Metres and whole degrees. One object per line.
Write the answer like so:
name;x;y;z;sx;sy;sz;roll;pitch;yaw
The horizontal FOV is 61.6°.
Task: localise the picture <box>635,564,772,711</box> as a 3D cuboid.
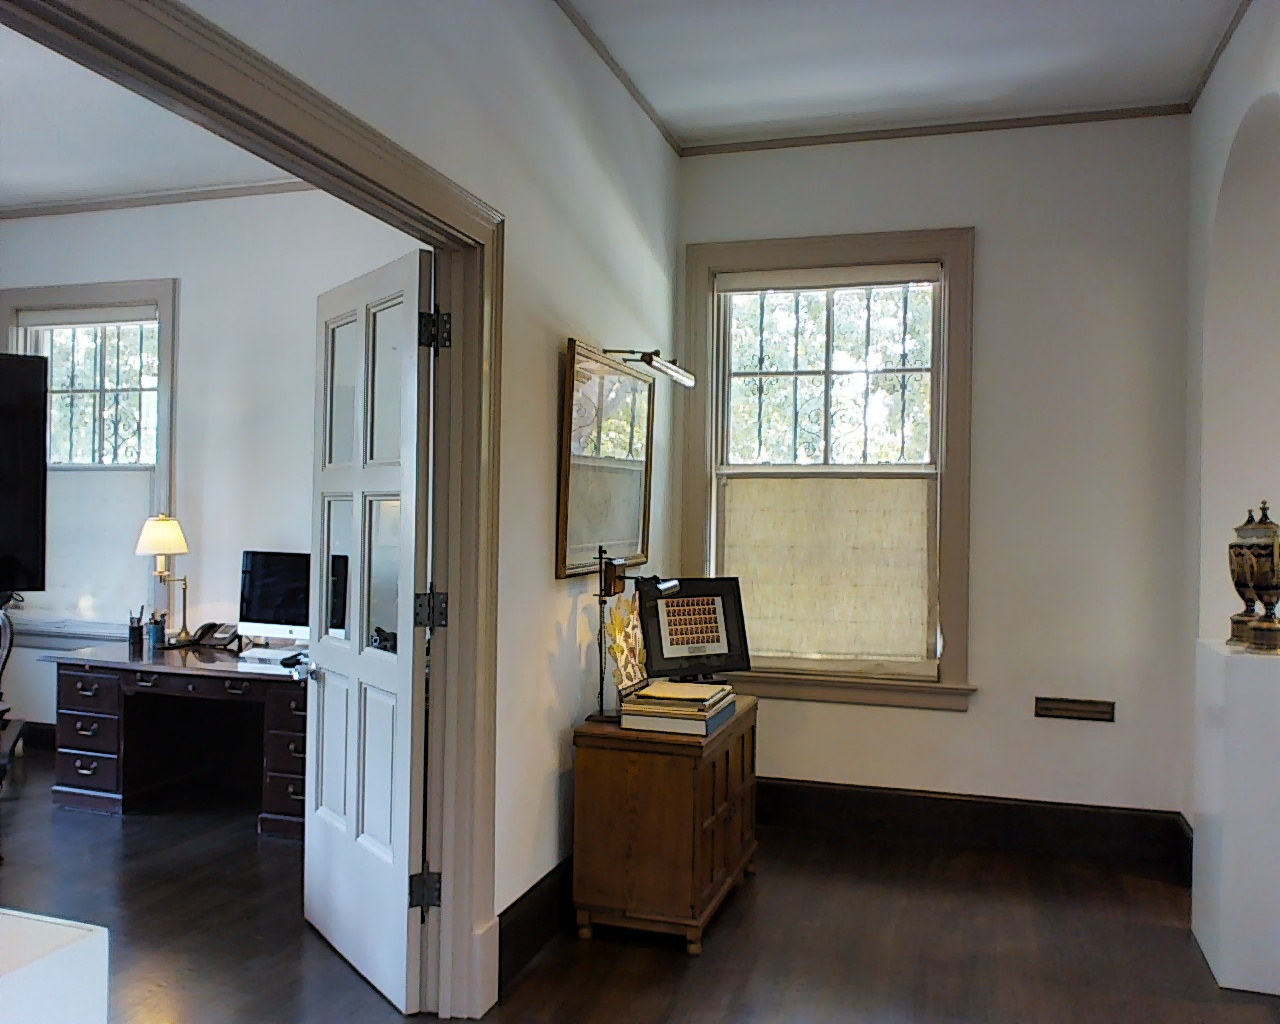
picture;0.270;0.520;4.520;0.510;0.520;0.090;-9;-4;-29
